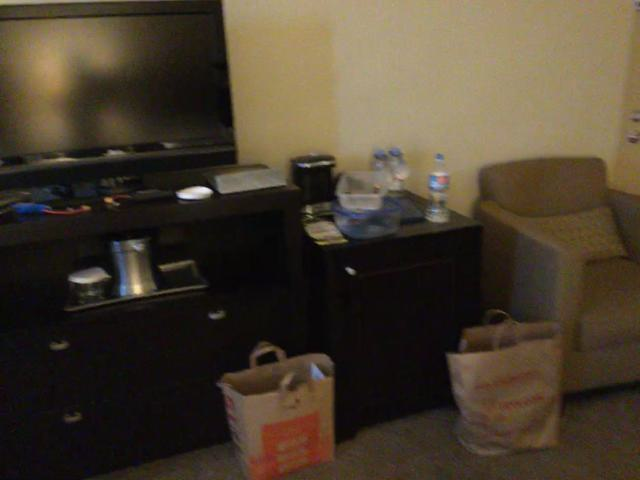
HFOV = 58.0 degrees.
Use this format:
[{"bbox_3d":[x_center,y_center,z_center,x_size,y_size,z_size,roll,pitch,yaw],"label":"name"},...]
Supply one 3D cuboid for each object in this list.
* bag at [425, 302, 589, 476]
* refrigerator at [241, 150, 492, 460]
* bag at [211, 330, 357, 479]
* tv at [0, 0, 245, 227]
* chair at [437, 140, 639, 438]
[{"bbox_3d":[0.650,0.510,2.060,0.430,0.400,0.330,-10,19,-16],"label":"bag"},{"bbox_3d":[0.170,0.190,2.300,0.740,0.920,0.650,-10,19,-16],"label":"refrigerator"},{"bbox_3d":[-0.120,0.590,1.960,0.410,0.430,0.220,-10,19,-16],"label":"bag"},{"bbox_3d":[-0.690,-0.440,1.840,0.780,0.600,0.170,-16,21,-19],"label":"tv"},{"bbox_3d":[1.100,0.110,2.430,0.900,0.840,0.930,-8,18,-8],"label":"chair"}]
